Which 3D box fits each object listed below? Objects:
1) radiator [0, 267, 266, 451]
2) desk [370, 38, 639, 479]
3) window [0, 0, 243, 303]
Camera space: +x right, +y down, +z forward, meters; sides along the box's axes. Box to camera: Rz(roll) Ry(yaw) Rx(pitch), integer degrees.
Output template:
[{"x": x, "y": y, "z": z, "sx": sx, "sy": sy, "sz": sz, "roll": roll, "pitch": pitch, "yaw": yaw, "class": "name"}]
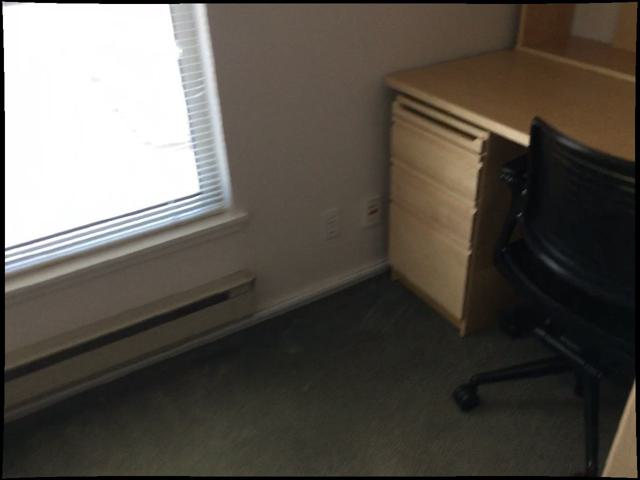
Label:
[{"x": -0.678, "y": 0.381, "z": 1.740, "sx": 1.088, "sy": 0.260, "sz": 0.080, "roll": -19, "pitch": 35, "yaw": -25, "class": "radiator"}, {"x": 0.858, "y": -0.030, "z": 1.770, "sx": 0.809, "sy": 0.822, "sz": 1.280, "roll": -19, "pitch": 35, "yaw": -25, "class": "desk"}, {"x": -0.708, "y": -0.321, "z": 1.420, "sx": 0.968, "sy": 0.912, "sz": 0.140, "roll": -19, "pitch": 35, "yaw": -26, "class": "window"}]
